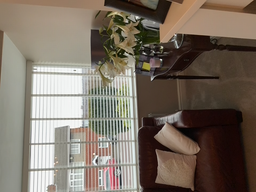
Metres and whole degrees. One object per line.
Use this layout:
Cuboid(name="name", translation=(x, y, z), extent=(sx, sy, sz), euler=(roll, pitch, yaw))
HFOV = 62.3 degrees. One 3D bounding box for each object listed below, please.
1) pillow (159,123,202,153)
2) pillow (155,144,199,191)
Cuboid(name="pillow", translation=(0.510, 0.410, 2.160), extent=(0.420, 0.340, 0.260), euler=(63, -156, -82))
Cuboid(name="pillow", translation=(0.490, 0.710, 2.150), extent=(0.270, 0.380, 0.390), euler=(27, -121, -77))
